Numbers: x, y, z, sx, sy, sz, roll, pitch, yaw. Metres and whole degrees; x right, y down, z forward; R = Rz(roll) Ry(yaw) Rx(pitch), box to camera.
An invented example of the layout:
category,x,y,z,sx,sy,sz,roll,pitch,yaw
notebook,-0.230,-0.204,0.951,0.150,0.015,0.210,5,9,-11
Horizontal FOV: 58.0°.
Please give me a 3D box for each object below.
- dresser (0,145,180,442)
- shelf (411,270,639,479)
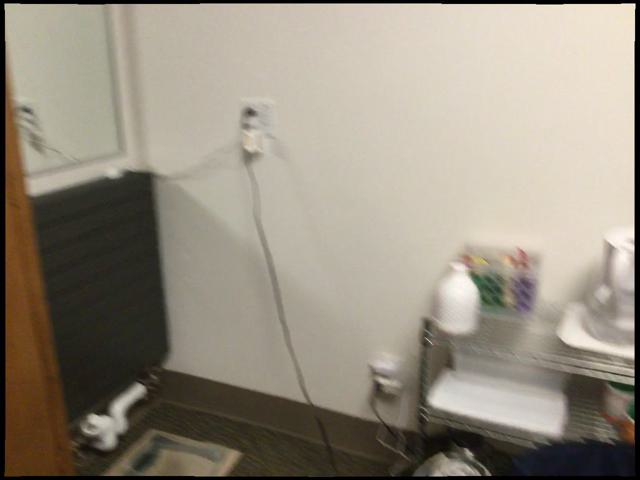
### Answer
category,x,y,z,sx,sy,sz,roll,pitch,yaw
dresser,-0.768,0.140,1.960,0.230,0.842,0.550,6,18,21
shelf,0.619,0.521,1.630,0.629,0.701,0.410,6,18,21
